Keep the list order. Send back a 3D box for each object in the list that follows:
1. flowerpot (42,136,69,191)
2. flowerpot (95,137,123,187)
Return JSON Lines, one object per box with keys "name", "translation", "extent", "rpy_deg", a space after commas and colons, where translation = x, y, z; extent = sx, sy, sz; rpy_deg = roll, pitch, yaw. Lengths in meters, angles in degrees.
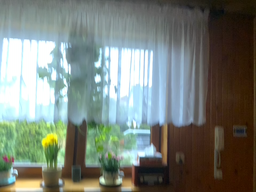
{"name": "flowerpot", "translation": [-0.630, 0.580, 1.850], "extent": [0.170, 0.430, 0.150], "rpy_deg": [3, -3, -6]}
{"name": "flowerpot", "translation": [-0.180, 0.600, 1.980], "extent": [0.230, 0.390, 0.280], "rpy_deg": [3, -3, -7]}
